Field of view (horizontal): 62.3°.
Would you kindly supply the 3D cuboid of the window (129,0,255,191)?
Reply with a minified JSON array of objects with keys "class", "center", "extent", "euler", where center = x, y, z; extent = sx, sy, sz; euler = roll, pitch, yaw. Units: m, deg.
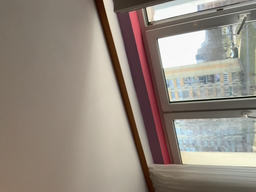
[{"class":"window","center":[0.890,-0.100,1.590],"extent":[0.180,1.500,2.420],"euler":[-52,-47,-58]}]
